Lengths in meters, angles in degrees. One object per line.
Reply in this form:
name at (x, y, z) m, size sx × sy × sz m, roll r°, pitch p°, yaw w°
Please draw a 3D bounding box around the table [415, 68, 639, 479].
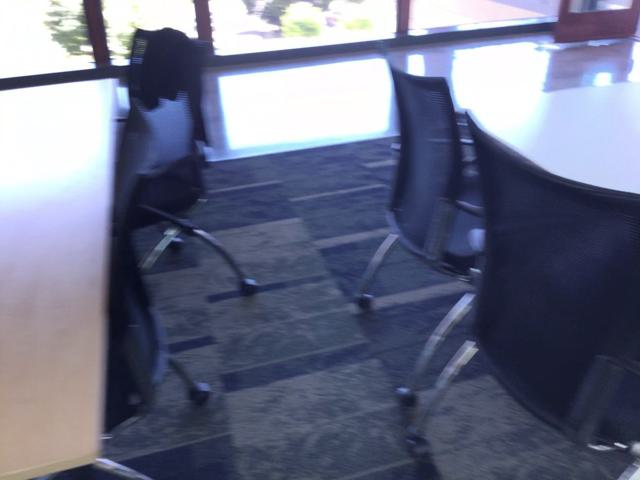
table at (0.940, 0.140, 1.440) m, size 0.820 × 0.800 × 1.500 m, roll -8°, pitch 28°, yaw -13°
